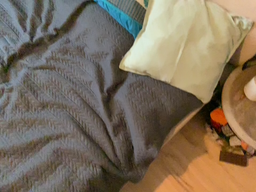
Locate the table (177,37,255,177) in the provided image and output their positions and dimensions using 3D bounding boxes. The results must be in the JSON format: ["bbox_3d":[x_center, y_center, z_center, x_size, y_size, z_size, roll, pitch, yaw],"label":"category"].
[{"bbox_3d":[0.630,0.070,1.100,0.470,0.420,0.460,-42,75,-14],"label":"table"}]
